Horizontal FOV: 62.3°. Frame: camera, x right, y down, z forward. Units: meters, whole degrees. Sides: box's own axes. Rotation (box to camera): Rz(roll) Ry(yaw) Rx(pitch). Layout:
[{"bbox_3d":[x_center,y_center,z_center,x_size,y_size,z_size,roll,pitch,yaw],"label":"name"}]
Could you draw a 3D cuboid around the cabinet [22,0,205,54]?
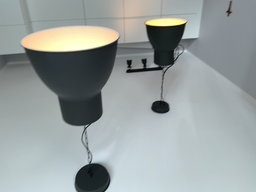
[{"bbox_3d":[-0.170,-1.480,3.390,2.720,1.320,0.520,-5,-150,-8],"label":"cabinet"}]
